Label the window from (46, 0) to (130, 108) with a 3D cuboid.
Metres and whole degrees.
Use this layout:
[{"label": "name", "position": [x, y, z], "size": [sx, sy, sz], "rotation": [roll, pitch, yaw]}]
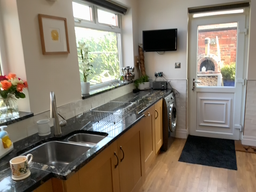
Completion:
[{"label": "window", "position": [-0.430, -0.690, 3.060], "size": [0.180, 1.370, 1.600], "rotation": [3, 13, 26]}]
